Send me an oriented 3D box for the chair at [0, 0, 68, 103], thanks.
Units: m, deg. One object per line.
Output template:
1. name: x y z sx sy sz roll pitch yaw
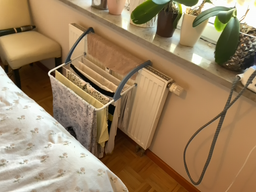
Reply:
1. chair: -0.960 -0.570 1.920 0.700 0.960 0.460 35 44 27
